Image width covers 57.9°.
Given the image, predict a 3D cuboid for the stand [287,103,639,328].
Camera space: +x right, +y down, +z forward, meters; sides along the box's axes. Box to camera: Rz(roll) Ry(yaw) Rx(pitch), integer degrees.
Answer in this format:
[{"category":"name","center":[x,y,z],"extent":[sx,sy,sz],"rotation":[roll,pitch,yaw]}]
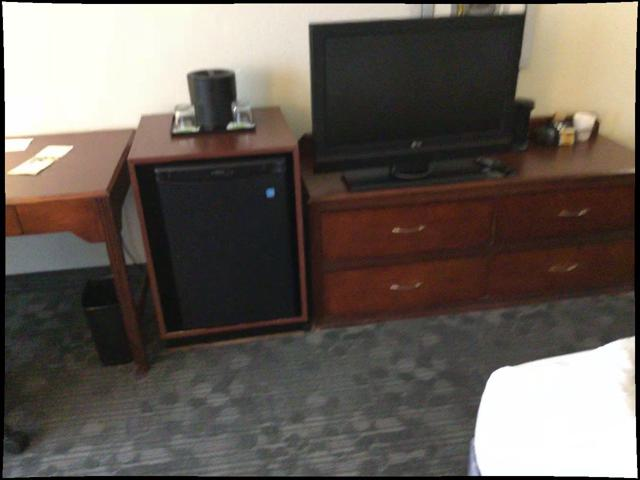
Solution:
[{"category":"stand","center":[0.699,-0.150,2.570],"extent":[1.598,0.681,0.580],"rotation":[-6,28,-9]}]
